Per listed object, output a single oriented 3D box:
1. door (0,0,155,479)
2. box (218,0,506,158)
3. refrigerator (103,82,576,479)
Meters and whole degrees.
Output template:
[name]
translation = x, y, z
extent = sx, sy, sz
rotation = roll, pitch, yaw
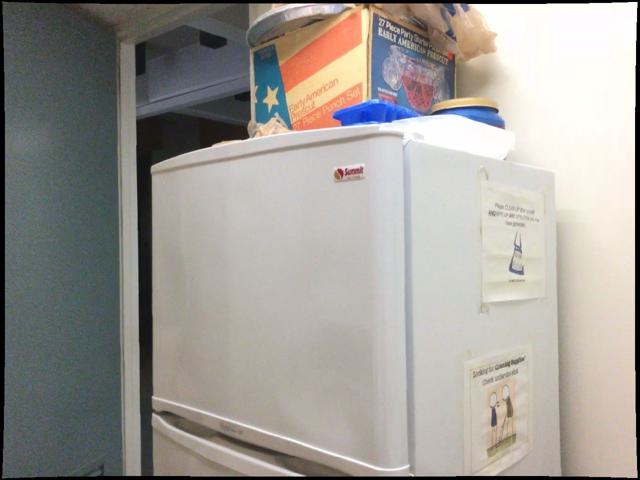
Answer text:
[door]
translation = -1.017, 0.301, 2.190
extent = 0.160, 2.476, 1.030
rotation = -2, 1, 16
[box]
translation = 0.110, -0.401, 1.440
extent = 0.529, 0.301, 0.479
rotation = -1, 1, 40
[refrigerator]
translation = 0.080, 0.652, 1.290
extent = 0.739, 1.734, 0.719
rotation = -1, 1, 40
